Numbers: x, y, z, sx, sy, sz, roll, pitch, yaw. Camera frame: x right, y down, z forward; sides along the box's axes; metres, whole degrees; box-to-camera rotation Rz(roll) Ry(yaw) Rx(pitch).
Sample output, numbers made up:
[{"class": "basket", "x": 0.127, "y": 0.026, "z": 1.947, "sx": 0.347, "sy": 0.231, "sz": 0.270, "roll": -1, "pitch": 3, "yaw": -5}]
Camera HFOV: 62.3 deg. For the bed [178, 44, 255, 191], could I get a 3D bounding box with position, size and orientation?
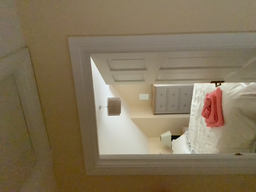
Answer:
[{"class": "bed", "x": 1.240, "y": 0.540, "z": 2.840, "sx": 1.480, "sy": 0.700, "sz": 2.090, "roll": -87, "pitch": -5, "yaw": -62}]
